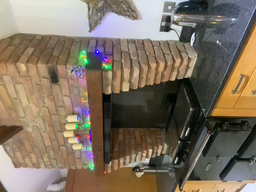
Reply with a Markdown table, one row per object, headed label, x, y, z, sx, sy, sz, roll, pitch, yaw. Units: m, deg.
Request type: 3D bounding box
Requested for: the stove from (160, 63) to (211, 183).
| label | x | y | z | sx | sy | sz | roll | pitch | yaw |
| --- | --- | --- | --- | --- | --- | --- | --- | --- | --- |
| stove | 0.500 | 0.300 | 2.100 | 0.670 | 0.080 | 1.030 | -92 | 7 | -46 |
